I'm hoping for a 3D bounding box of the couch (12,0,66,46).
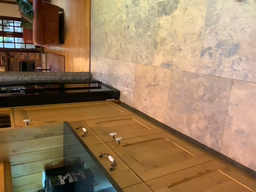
[{"bbox_3d":[-2.310,-1.810,5.380,1.750,0.990,0.960,23,113,56],"label":"couch"}]
